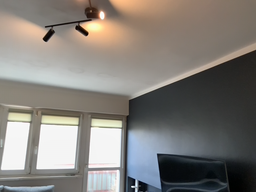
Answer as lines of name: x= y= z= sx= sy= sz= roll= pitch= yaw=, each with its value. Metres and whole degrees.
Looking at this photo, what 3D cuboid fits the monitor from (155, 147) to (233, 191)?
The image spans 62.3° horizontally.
monitor: x=0.660 y=1.000 z=2.390 sx=0.080 sy=0.640 sz=1.110 roll=7 pitch=-6 yaw=-25
